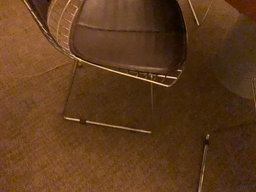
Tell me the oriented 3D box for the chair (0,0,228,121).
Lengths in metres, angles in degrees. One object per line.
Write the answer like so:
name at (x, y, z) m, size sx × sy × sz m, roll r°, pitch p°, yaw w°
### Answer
chair at (-0.080, -0.250, 0.850) m, size 0.590 × 0.760 × 0.380 m, roll 3°, pitch 58°, yaw -5°
